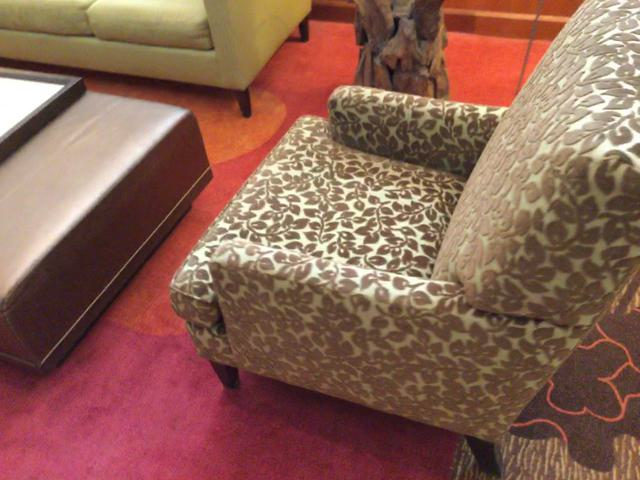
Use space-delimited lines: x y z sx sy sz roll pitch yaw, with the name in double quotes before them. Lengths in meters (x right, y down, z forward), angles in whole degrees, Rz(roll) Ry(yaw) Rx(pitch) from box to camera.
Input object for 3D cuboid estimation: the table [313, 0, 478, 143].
"table" 0.320 -0.840 2.330 0.500 0.620 0.460 20 47 10
